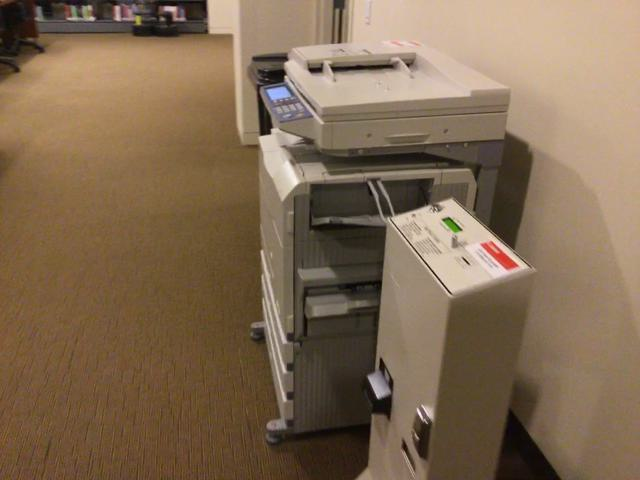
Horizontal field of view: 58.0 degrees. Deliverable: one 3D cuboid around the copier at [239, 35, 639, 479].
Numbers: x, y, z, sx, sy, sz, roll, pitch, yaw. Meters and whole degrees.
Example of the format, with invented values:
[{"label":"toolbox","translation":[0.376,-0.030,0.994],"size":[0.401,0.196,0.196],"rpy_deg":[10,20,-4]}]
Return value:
[{"label":"copier","translation":[0.160,-0.010,1.810],"size":[0.730,1.150,1.160],"rpy_deg":[-2,20,-11]}]
